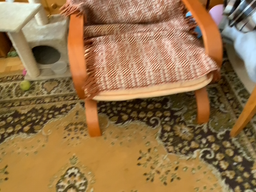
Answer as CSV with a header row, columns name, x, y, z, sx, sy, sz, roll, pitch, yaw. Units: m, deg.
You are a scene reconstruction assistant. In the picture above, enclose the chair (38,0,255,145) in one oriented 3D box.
name,x,y,z,sx,sy,sz,roll,pitch,yaw
chair,0.040,-0.400,1.070,0.670,0.950,0.800,-10,49,-4
